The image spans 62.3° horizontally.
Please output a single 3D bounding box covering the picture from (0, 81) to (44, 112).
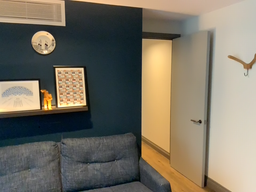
[{"bbox_3d":[-1.050,0.000,2.090,0.400,0.290,0.030,-2,7,-23],"label":"picture"}]

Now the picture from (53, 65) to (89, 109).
[{"bbox_3d":[-0.600,-0.100,2.260,0.330,0.440,0.030,-6,12,-22],"label":"picture"}]

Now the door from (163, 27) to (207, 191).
[{"bbox_3d":[0.780,0.330,3.110,0.040,2.450,0.810,-2,7,-23],"label":"door"}]

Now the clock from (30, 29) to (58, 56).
[{"bbox_3d":[-0.850,-0.540,2.150,0.250,0.250,0.020,-2,7,-22],"label":"clock"}]
